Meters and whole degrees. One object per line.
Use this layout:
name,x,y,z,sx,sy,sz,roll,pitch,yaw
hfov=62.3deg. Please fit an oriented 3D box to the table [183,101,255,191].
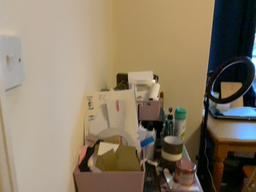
table,1.200,0.540,1.890,1.170,0.750,0.780,2,15,0
